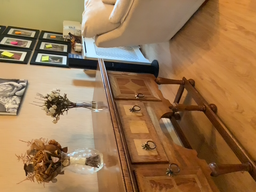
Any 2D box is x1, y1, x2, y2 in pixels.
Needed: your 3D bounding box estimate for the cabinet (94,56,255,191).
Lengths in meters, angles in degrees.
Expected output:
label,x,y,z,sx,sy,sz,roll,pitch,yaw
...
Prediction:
label,x,y,z,sx,sy,sz,roll,pitch,yaw
cabinet,0.270,0.300,1.290,1.280,0.780,0.500,-111,29,-52
